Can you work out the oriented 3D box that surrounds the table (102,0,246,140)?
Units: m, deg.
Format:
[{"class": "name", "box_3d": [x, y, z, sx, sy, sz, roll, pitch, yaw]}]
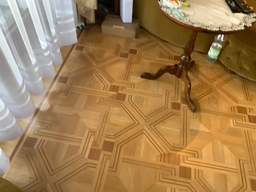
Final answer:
[{"class": "table", "box_3d": [0.300, -0.280, 1.480, 0.650, 0.660, 0.740, 21, 53, 13]}]
